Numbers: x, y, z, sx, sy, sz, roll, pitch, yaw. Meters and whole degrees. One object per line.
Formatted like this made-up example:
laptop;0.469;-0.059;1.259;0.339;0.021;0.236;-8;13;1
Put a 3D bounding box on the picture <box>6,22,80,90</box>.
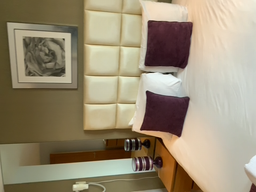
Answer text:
picture;-0.790;-0.360;2.030;0.030;0.630;0.610;-125;39;-66
